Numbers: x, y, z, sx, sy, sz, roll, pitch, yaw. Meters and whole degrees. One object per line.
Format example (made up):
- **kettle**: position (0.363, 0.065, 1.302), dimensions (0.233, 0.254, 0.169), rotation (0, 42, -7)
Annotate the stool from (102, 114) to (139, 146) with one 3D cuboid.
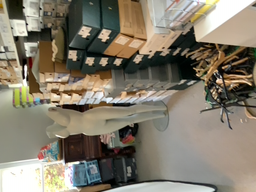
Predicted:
- **stool**: position (-0.140, 0.580, 3.640), dimensions (0.280, 0.510, 0.460), rotation (137, 127, -60)
